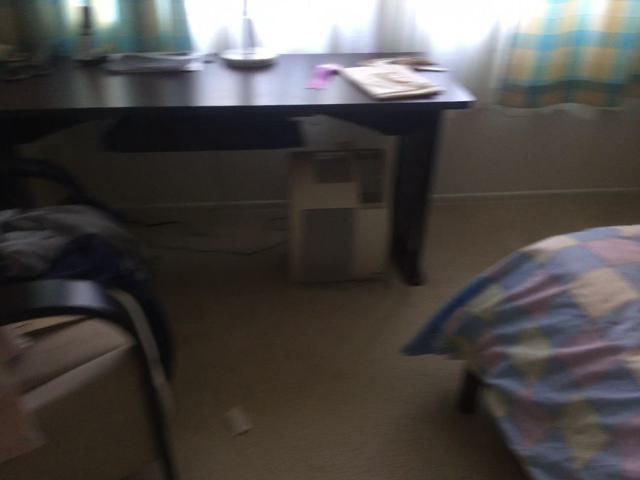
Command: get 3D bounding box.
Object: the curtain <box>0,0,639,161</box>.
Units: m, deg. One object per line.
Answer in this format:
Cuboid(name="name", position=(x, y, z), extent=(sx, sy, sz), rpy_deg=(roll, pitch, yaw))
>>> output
Cuboid(name="curtain", position=(0.280, -1.070, 1.990), extent=(2.930, 1.480, 0.350), rpy_deg=(-2, 31, -5))
